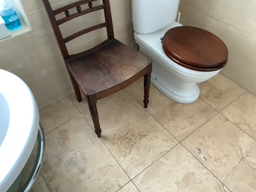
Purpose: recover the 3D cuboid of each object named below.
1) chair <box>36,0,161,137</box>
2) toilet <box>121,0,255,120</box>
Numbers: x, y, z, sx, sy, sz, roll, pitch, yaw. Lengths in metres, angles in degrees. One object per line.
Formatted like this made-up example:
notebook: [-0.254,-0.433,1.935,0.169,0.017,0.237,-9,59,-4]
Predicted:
chair: [-0.160,-0.230,1.330,0.440,0.810,0.470,-30,55,-23]
toilet: [0.340,-0.410,1.480,0.440,0.820,0.700,-30,55,-23]
